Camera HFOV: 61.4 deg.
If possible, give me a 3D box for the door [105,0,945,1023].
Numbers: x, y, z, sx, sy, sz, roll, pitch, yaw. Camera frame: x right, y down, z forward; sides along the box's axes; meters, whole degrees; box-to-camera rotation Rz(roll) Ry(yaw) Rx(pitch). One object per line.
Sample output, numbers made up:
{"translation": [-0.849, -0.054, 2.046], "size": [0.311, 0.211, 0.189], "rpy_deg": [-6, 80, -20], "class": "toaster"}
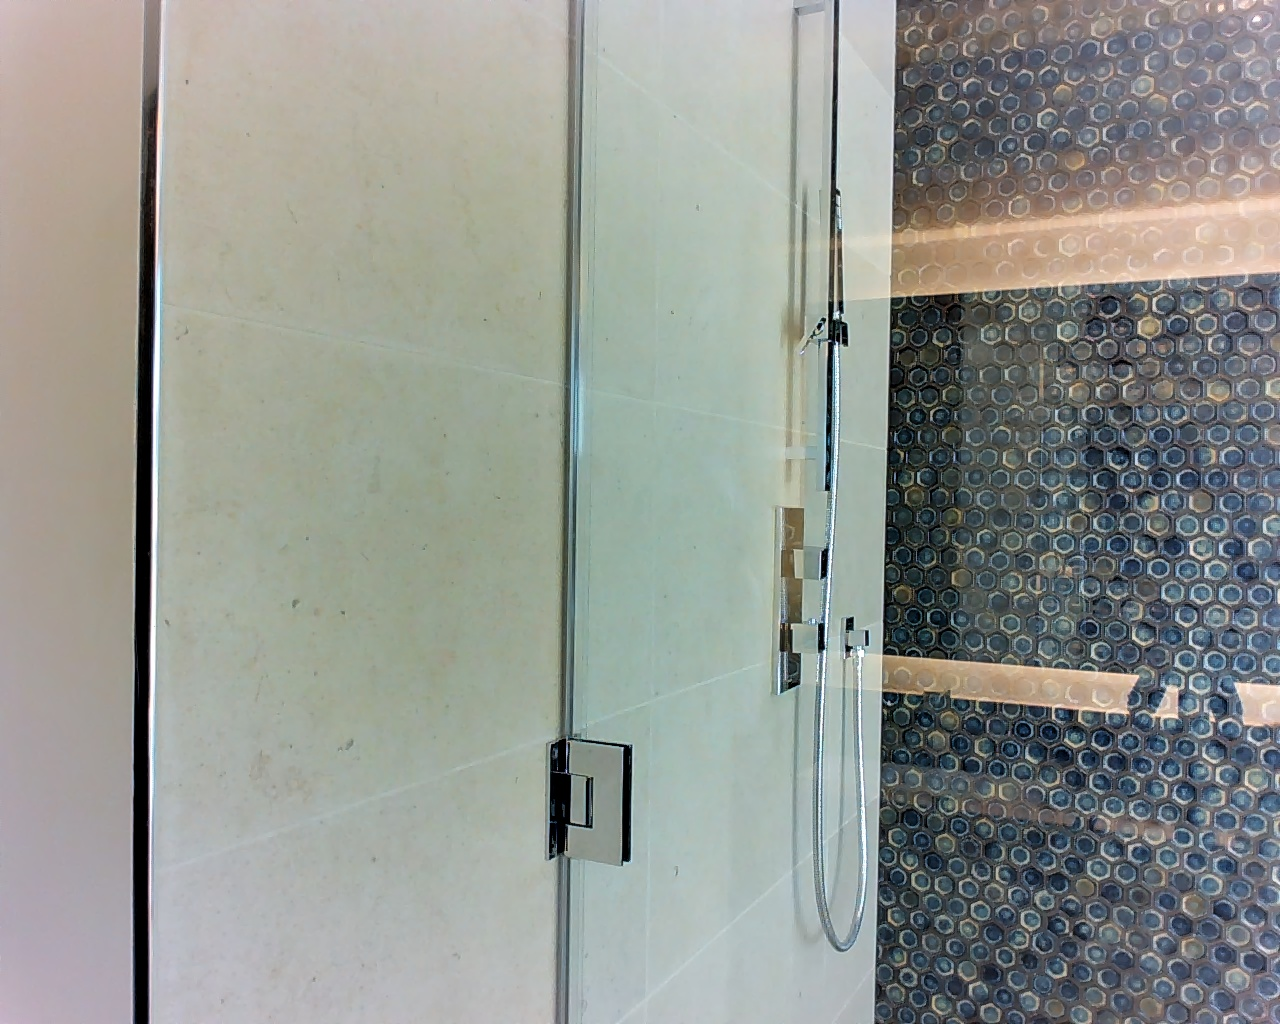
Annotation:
{"translation": [0.110, 0.260, 1.230], "size": [0.120, 2.510, 1.520], "rpy_deg": [1, 1, 27], "class": "door"}
